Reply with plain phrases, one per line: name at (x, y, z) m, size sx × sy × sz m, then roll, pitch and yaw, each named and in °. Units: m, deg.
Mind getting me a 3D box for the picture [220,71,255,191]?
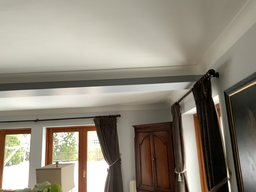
picture at (0.760, 0.370, 1.180) m, size 0.050 × 0.990 × 0.910 m, roll -3°, pitch -11°, yaw 4°
